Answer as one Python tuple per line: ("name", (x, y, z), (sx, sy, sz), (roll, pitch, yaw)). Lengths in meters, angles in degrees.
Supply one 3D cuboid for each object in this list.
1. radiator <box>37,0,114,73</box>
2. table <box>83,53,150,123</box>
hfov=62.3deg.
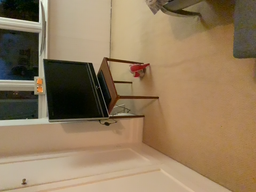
("radiator", (-0.740, -1.130, 3.090), (0.160, 1.060, 1.520), (15, 104, 63))
("table", (-0.160, -0.090, 2.340), (0.420, 0.490, 0.610), (-61, 38, 45))
